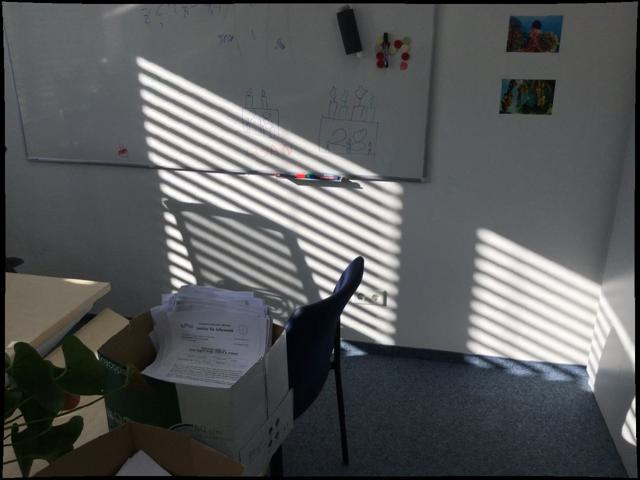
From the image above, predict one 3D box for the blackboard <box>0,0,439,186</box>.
[{"bbox_3d":[-0.559,-0.691,2.590,2.098,0.781,0.110,4,24,12],"label":"blackboard"}]
